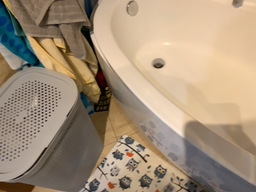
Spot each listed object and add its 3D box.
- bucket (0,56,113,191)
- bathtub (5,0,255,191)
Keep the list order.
[{"bbox_3d":[-0.380,0.210,1.020,0.360,0.620,0.410,19,64,18],"label":"bucket"},{"bbox_3d":[0.470,0.010,1.030,1.520,0.590,1.030,19,64,18],"label":"bathtub"}]
